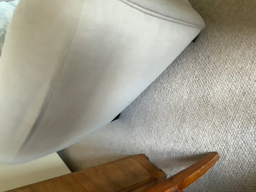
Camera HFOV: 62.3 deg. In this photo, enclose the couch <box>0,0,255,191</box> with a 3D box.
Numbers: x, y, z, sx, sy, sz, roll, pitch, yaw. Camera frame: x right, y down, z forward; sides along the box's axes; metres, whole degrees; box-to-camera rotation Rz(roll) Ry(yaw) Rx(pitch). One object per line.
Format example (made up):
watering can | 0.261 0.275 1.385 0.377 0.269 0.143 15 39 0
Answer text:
couch | -0.320 -0.290 0.700 0.800 0.840 0.890 -47 58 35
